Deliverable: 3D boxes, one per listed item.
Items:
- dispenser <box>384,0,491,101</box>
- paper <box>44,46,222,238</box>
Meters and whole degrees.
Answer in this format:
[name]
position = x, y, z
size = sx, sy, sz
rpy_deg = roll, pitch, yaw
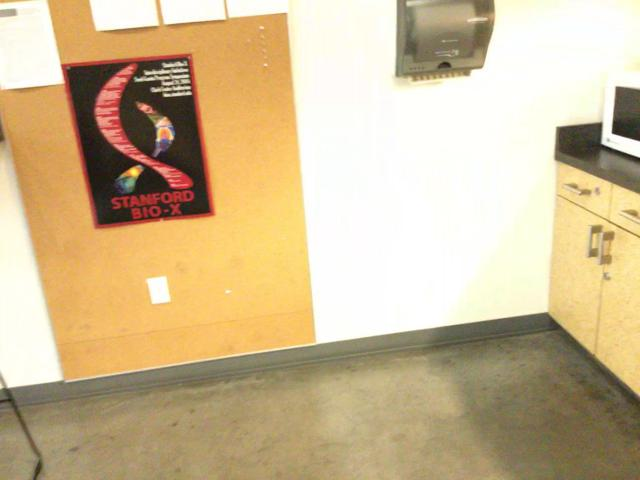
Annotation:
[dispenser]
position = 0.410, -0.710, 2.040
size = 0.290, 0.360, 0.230
rpy_deg = -11, 21, -4
[paper]
position = -0.660, -0.350, 2.120
size = 0.470, 0.620, 0.090
rpy_deg = -11, 21, -4
